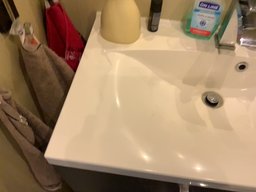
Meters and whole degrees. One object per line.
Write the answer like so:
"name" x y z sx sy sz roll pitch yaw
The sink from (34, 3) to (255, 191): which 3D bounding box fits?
"sink" 0.230 -0.010 0.630 0.780 0.150 0.570 6 54 1
